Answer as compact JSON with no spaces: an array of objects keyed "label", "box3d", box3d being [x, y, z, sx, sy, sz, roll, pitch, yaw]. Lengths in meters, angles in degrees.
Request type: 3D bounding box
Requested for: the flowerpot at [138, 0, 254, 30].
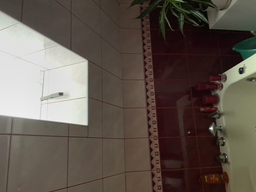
[{"label":"flowerpot","box3d":[0.420,-0.680,1.470,0.570,0.570,0.390,-120,32,-71]}]
